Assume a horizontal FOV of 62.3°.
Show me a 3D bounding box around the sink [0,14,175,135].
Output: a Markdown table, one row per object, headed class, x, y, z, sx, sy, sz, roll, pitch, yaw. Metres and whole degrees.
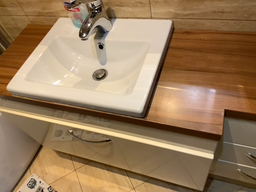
| class | x | y | z | sx | sy | sz | roll | pitch | yaw |
| --- | --- | --- | --- | --- | --- | --- | --- | --- | --- |
| sink | -0.130 | -0.120 | 0.790 | 0.530 | 0.120 | 0.410 | 9 | 57 | 19 |
